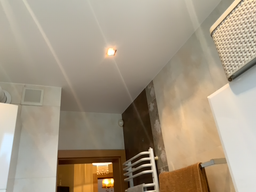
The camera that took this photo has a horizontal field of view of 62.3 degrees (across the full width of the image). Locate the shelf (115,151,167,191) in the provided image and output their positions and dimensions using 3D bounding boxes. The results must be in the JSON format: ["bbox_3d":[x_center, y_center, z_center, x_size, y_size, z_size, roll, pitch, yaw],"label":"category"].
[{"bbox_3d":[0.110,1.020,1.830,0.160,0.920,0.710,6,-29,-22],"label":"shelf"}]
